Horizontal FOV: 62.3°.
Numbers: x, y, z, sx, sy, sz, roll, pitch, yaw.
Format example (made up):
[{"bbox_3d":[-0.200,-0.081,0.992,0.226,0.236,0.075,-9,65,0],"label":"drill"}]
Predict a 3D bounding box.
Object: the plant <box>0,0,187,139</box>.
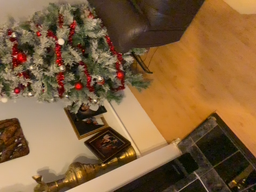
[{"bbox_3d":[-0.540,-0.350,1.580,0.830,1.640,0.780,58,139,24],"label":"plant"}]
